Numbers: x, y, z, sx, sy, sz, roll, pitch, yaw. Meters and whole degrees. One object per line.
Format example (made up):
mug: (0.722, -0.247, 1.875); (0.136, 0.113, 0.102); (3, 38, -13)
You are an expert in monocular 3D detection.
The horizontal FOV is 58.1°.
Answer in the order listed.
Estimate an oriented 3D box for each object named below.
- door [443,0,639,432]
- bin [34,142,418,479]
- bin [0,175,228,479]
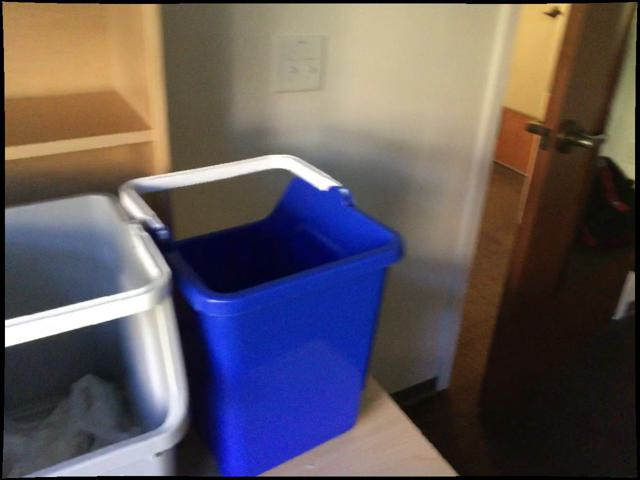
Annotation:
door: (0.938, -0.160, 1.870); (0.958, 1.453, 0.240); (-14, 32, -26)
bin: (-0.150, 0.110, 0.840); (0.379, 0.351, 0.400); (-14, 32, -26)
bin: (-0.349, 0.180, 0.690); (0.349, 0.351, 0.390); (-14, 32, -26)
